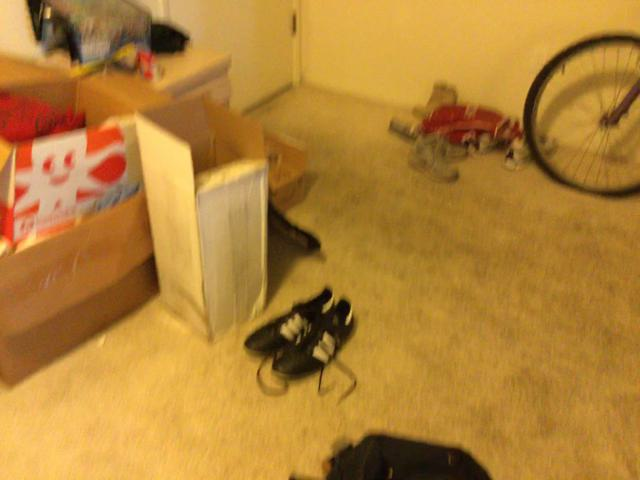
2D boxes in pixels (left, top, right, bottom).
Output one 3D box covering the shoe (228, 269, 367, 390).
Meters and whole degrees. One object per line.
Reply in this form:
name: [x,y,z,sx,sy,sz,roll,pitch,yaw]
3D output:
shoe: [-0.060,0.250,1.700,0.340,0.120,0.220,-28,42,-36]
